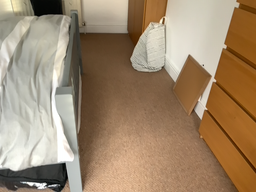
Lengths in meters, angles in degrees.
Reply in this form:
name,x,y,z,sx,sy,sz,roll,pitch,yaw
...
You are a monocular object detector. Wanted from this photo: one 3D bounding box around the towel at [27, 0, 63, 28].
name,x,y,z,sx,sy,sz,roll,pitch,yaw
towel,-1.170,-1.230,3.010,0.420,0.480,0.130,-2,35,-9
